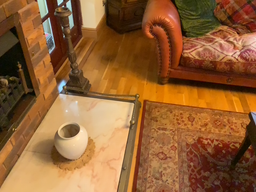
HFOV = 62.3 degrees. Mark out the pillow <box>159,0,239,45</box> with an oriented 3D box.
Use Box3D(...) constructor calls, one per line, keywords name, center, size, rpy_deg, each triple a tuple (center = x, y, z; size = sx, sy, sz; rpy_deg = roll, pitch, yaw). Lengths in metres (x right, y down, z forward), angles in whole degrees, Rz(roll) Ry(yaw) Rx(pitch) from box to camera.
Box3D(name="pillow", center=(0.710, -0.870, 2.140), size=(0.520, 0.390, 0.520), rpy_deg=(-30, 51, -33))
